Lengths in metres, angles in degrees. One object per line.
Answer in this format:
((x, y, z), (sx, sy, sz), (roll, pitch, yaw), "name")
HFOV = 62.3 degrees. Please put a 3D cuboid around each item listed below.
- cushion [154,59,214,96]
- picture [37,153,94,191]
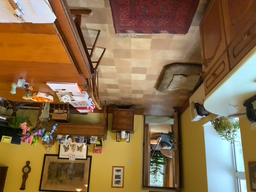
((0.870, -0.270, 3.590), (0.670, 0.120, 1.200), (3, 162, -1), "cushion")
((-1.480, 1.810, 5.070), (1.240, 0.810, 0.090), (3, 162, 1), "picture")
